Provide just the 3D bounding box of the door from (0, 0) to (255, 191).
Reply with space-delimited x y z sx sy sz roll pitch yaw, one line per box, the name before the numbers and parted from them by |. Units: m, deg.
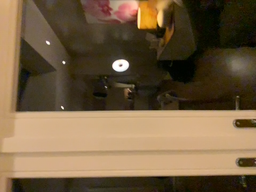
door | 0.210 0.190 0.810 0.130 2.620 1.580 106 163 -82
